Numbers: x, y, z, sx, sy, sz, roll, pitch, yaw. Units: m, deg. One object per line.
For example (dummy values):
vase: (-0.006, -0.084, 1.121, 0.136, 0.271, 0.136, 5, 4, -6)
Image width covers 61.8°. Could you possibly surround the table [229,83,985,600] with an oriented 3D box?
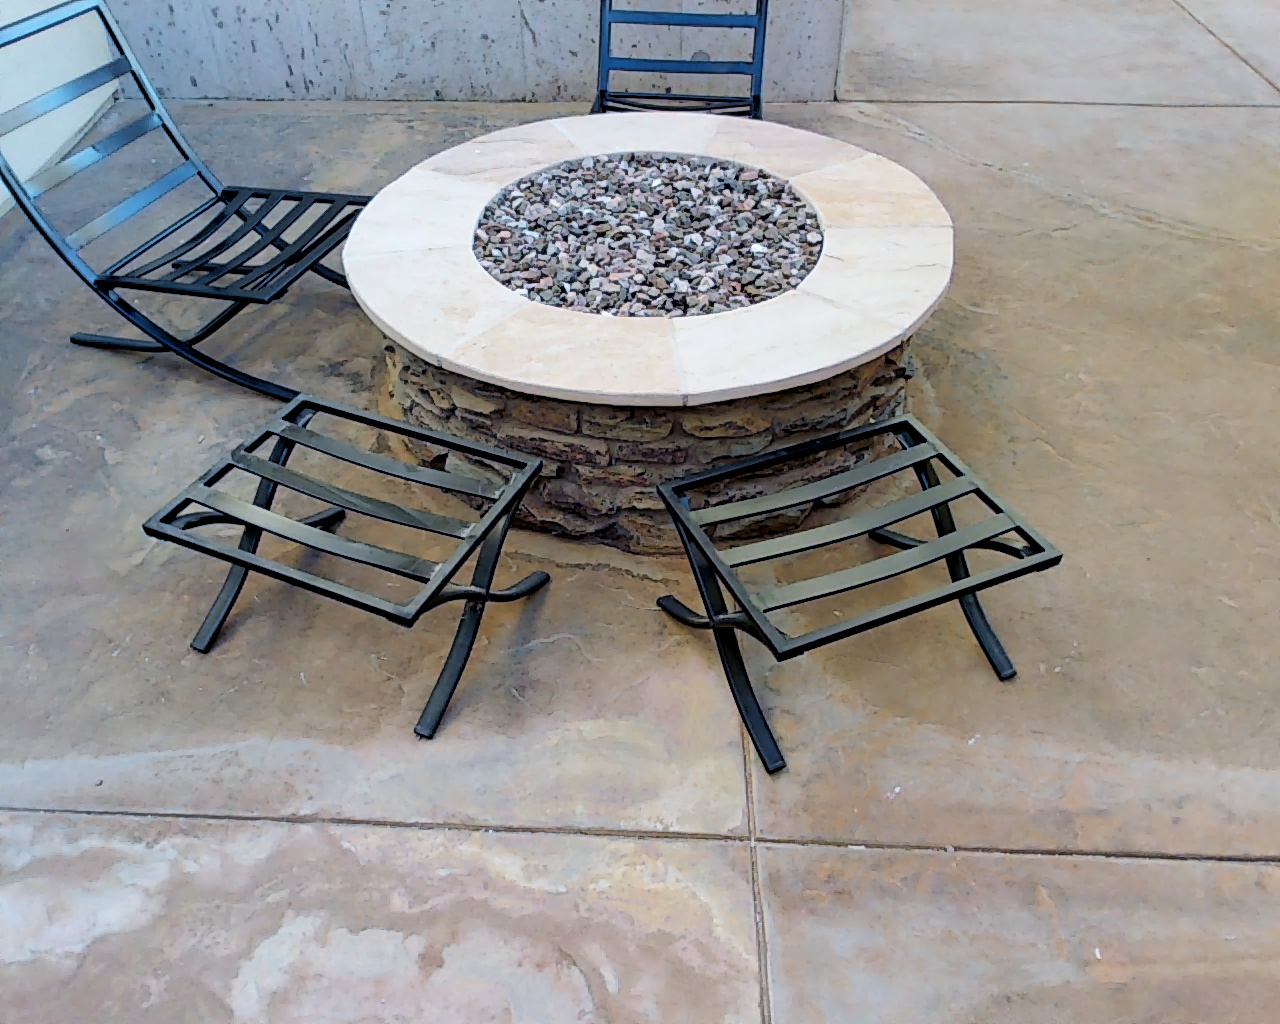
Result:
table: (0.040, -0.540, 2.640, 1.421, 0.440, 1.440, 7, 42, 8)
